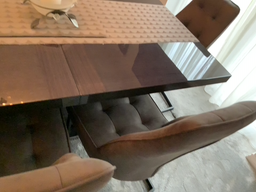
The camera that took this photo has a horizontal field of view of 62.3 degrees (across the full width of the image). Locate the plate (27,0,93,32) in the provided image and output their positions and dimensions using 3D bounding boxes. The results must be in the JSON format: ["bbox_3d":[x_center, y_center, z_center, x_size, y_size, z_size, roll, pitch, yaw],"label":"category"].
[{"bbox_3d":[-0.310,-0.400,0.950,0.240,0.100,0.210,-6,53,-28],"label":"plate"}]
